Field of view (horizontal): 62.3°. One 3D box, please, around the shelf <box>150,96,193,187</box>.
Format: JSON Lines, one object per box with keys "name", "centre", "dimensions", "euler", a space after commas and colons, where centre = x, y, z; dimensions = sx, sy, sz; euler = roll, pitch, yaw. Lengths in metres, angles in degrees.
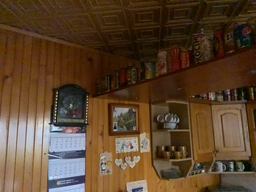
{"name": "shelf", "centre": [0.450, 0.460, 2.250], "dimensions": [0.290, 0.860, 0.290], "euler": [7, -13, -38]}
